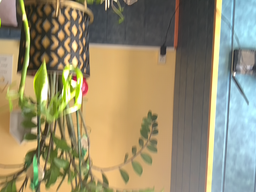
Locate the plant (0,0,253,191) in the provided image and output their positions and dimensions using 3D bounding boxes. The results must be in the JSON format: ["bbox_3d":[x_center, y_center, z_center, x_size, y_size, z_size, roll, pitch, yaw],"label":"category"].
[{"bbox_3d":[-0.110,-0.530,1.080,0.910,2.160,1.010,2,-177,-3],"label":"plant"}]
